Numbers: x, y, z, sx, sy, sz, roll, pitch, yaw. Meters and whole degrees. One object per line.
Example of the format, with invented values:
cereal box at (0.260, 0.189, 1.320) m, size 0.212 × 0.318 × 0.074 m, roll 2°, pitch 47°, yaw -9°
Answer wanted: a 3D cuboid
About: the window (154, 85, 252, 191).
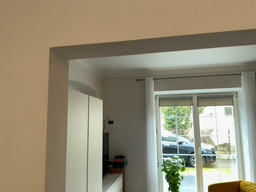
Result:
window at (1.510, 1.080, 4.490) m, size 1.790 × 2.510 × 0.250 m, roll -3°, pitch -7°, yaw 15°
